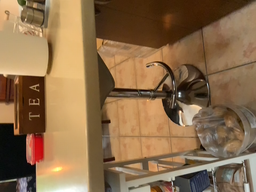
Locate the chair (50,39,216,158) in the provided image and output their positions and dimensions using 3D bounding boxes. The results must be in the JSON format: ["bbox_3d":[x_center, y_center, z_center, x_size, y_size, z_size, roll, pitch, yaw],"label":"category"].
[{"bbox_3d":[0.020,0.010,1.150,0.350,0.730,0.400,54,132,42],"label":"chair"}]
